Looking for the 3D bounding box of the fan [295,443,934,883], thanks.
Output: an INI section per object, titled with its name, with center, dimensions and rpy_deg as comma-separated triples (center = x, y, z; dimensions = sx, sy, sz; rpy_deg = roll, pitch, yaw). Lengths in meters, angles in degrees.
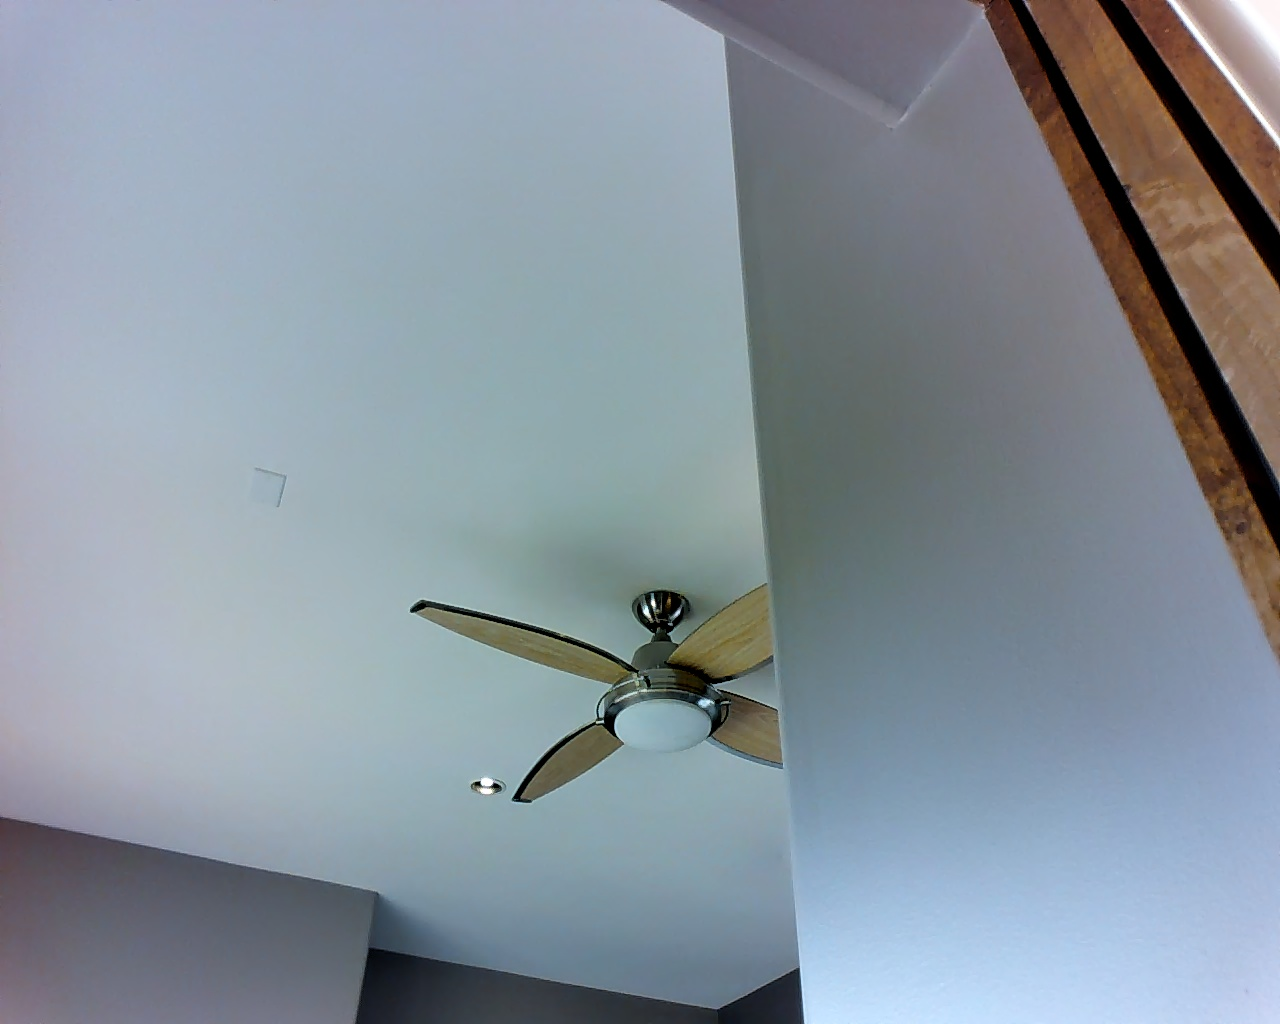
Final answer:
[fan]
center = 0.030, 0.450, 2.570
dimensions = 1.199, 0.330, 1.140
rpy_deg = -10, -42, 12
